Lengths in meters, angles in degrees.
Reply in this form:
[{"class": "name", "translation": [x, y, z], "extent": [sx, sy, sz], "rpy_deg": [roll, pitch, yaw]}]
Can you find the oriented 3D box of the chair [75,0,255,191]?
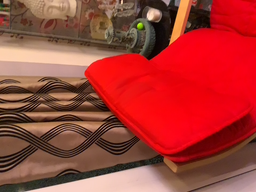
[{"class": "chair", "translation": [0.410, -0.320, 0.820], "extent": [0.690, 0.960, 0.820], "rpy_deg": [41, 126, 51]}]
